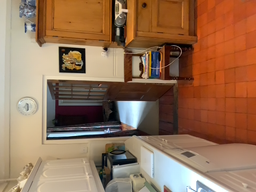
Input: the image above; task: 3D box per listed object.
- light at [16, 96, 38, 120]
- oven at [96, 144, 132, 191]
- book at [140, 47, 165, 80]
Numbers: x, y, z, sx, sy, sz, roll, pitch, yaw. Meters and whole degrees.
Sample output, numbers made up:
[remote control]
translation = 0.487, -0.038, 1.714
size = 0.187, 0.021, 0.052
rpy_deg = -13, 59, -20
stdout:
[light]
translation = -1.330, 0.160, 2.790
size = 0.020, 0.260, 0.310
rpy_deg = 180, 91, -75
[oven]
translation = -0.200, 0.920, 2.750
size = 0.540, 0.370, 0.470
rpy_deg = 171, 100, -74
[book]
translation = 0.340, -0.450, 3.020
size = 0.370, 0.220, 0.390
rpy_deg = 178, 94, -75
